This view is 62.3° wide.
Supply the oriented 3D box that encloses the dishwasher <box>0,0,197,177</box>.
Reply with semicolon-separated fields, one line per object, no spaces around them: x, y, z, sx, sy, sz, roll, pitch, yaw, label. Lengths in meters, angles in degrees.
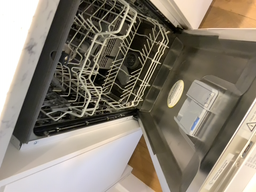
-0.190;-0.210;0.800;0.590;0.920;0.460;30;104;22;dishwasher
